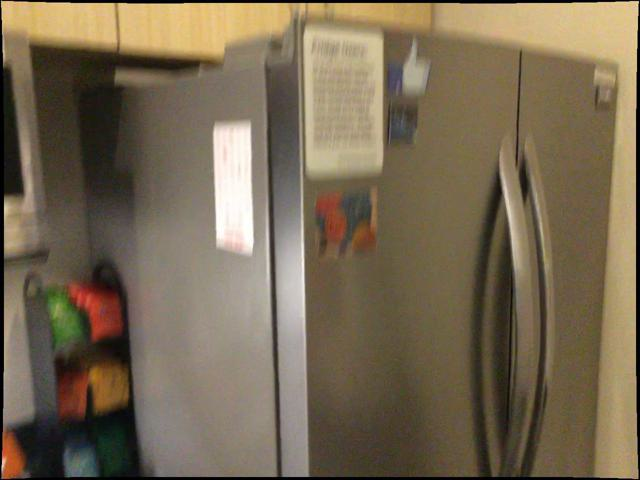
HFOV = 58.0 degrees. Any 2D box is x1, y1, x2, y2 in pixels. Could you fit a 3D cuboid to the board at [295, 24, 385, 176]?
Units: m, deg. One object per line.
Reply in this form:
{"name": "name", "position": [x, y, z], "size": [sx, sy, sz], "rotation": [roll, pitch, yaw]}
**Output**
{"name": "board", "position": [0.030, -0.180, 0.750], "size": [0.130, 0.180, 0.020], "rotation": [-11, 16, -36]}

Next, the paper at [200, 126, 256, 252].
{"name": "paper", "position": [-0.140, -0.080, 0.870], "size": [0.020, 0.180, 0.110], "rotation": [-11, 16, -36]}
